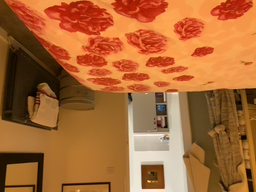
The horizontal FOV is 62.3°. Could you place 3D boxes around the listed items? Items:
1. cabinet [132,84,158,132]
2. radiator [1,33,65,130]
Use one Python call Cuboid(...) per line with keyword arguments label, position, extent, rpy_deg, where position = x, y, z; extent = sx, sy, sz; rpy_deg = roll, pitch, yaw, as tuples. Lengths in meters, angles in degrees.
Cuboid(label="cabinet", position=(0.290, 0.210, 3.720), extent=(0.410, 0.810, 0.240), rpy_deg=(-1, 166, 0))
Cuboid(label="radiator", position=(-1.010, -0.070, 2.460), extent=(0.150, 0.820, 1.110), rpy_deg=(-2, 166, 2))
